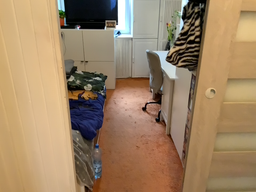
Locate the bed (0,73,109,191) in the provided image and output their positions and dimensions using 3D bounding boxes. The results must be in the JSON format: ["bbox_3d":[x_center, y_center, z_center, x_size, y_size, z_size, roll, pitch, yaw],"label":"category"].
[{"bbox_3d":[-0.810,0.270,2.380,1.070,0.450,2.170,0,23,-2],"label":"bed"}]

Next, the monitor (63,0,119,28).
[{"bbox_3d":[-0.620,-1.510,3.620,0.930,0.640,0.060,0,23,-3],"label":"monitor"}]

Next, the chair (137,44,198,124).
[{"bbox_3d":[0.490,-0.200,2.930,0.530,0.910,0.630,-6,24,-15],"label":"chair"}]
